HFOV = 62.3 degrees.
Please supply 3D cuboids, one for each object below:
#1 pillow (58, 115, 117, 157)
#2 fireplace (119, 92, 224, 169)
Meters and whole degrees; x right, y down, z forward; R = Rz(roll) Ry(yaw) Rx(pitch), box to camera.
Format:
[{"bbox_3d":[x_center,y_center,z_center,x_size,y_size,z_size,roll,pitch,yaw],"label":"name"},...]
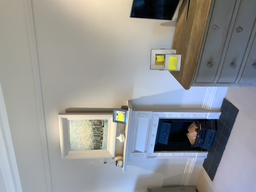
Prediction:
[{"bbox_3d":[-0.540,0.550,2.870,0.030,0.740,0.670,-108,22,-63],"label":"pillow"},{"bbox_3d":[0.570,0.530,3.110,0.310,1.290,1.120,-106,20,-61],"label":"fireplace"}]
